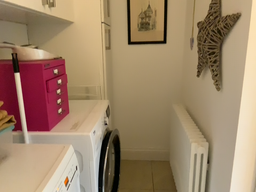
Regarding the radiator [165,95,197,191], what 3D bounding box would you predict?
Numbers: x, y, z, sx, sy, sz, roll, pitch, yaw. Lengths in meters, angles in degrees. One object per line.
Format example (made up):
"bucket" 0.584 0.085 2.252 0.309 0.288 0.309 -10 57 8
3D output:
"radiator" 0.380 0.460 1.690 0.090 0.730 0.960 1 14 6
